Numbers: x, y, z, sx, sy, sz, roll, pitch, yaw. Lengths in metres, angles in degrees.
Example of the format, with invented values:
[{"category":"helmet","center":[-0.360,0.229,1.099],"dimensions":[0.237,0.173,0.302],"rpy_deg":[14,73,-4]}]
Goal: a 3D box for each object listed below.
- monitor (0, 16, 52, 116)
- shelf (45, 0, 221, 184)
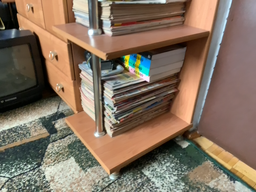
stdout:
[{"category":"monitor","center":[-0.650,-0.150,1.020],"dimensions":[0.380,0.350,0.360],"rpy_deg":[-21,39,-34]},{"category":"shelf","center":[0.030,-0.590,0.440],"dimensions":[0.410,1.750,0.320],"rpy_deg":[-19,38,-32]}]
